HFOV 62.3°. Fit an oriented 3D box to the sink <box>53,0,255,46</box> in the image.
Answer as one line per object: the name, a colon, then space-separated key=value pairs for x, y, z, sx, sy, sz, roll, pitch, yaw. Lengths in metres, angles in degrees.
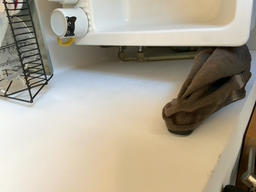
sink: x=0.040 y=-0.410 z=0.750 sx=0.750 sy=0.170 sz=0.390 roll=13 pitch=116 yaw=32
